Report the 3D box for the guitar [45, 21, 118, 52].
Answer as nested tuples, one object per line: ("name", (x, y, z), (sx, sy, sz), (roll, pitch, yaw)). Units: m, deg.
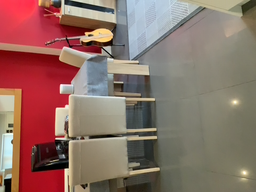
("guitar", (-0.720, -0.930, 3.330), (0.530, 1.020, 0.230), (-109, 24, -52))
